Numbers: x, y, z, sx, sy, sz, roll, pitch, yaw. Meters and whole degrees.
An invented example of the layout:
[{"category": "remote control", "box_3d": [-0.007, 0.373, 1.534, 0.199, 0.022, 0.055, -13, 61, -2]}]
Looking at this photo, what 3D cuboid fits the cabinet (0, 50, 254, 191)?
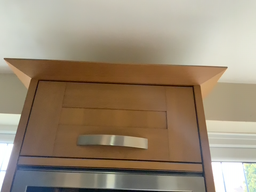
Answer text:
[{"category": "cabinet", "box_3d": [-0.060, 0.320, 0.770, 0.810, 0.860, 0.400, 2, -27, -1]}]
